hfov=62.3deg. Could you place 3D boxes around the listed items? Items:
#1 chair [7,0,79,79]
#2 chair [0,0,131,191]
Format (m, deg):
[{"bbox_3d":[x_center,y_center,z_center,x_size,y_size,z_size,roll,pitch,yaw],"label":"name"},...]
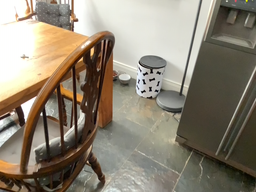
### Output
[{"bbox_3d":[-0.900,-0.810,2.430,0.560,1.060,0.610,-2,37,-9],"label":"chair"},{"bbox_3d":[-0.410,0.200,1.060,0.610,1.130,0.560,15,37,14],"label":"chair"}]
